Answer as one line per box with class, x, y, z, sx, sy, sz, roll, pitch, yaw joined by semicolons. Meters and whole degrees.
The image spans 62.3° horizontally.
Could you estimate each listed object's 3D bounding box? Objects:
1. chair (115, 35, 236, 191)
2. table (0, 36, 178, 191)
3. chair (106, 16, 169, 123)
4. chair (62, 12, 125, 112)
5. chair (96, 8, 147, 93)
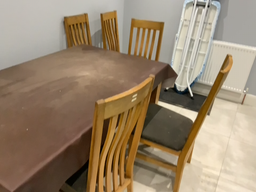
chair;0.310;0.160;1.590;0.600;1.020;0.540;17;32;22
table;-0.420;0.160;1.720;1.040;0.790;1.680;18;33;23
chair;0.100;-0.320;2.410;0.440;1.000;0.600;16;32;20
chair;-0.390;-0.410;2.510;0.510;1.000;0.440;19;33;25
chair;-0.100;-0.640;2.950;0.490;1.000;0.440;19;33;25
